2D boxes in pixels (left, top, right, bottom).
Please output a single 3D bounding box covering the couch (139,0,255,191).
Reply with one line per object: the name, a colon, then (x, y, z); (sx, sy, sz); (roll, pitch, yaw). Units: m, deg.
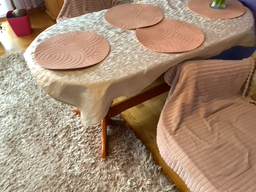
couch: (0.720, 0.080, 0.990); (1.000, 1.040, 0.870); (-23, 49, -20)
